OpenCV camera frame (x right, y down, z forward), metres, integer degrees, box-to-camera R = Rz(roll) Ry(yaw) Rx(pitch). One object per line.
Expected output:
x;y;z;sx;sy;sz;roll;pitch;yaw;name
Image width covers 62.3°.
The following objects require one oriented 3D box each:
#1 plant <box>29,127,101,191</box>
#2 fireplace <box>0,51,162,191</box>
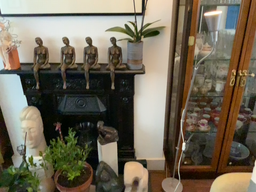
-0.450;0.560;1.650;0.410;0.590;0.250;0;25;2;plant
-0.390;0.240;1.810;1.180;1.040;0.930;0;25;1;fireplace
